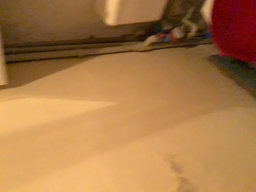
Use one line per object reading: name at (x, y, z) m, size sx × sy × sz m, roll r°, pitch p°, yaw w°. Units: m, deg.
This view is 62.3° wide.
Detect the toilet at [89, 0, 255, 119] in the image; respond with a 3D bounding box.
toilet at (0.410, -0.400, 0.880) m, size 0.650 × 0.890 × 0.460 m, roll 53°, pitch 141°, yaw 34°
